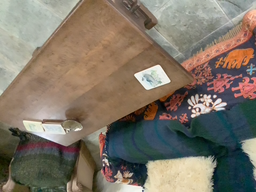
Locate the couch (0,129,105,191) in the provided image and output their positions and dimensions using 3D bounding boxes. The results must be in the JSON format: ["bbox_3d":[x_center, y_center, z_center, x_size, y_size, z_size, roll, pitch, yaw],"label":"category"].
[{"bbox_3d":[-0.830,1.000,2.310,0.920,0.830,1.090,0,143,4],"label":"couch"}]

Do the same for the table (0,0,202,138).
[{"bbox_3d":[-0.190,-0.210,0.990,0.480,0.450,0.820,31,135,-32],"label":"table"}]

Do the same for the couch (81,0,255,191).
[{"bbox_3d":[0.620,0.270,1.230,0.980,0.850,1.580,31,135,-32],"label":"couch"}]
